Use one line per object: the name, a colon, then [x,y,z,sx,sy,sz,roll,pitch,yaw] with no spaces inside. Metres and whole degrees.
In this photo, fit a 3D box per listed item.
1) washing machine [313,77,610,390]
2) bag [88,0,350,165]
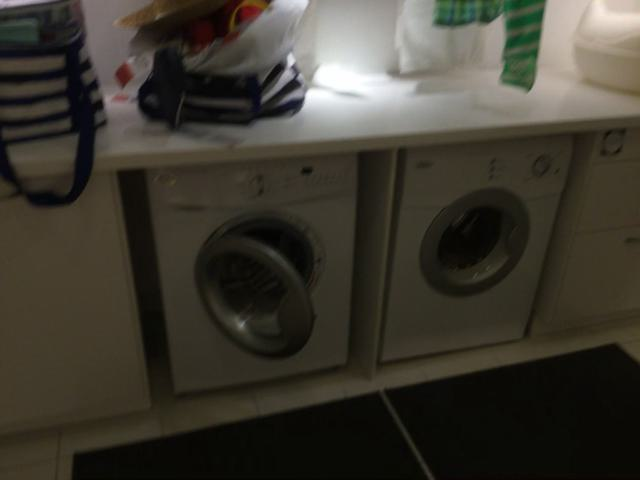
washing machine: [0.440,-0.050,2.060,0.770,0.850,0.530,-10,30,-12]
bag: [-0.280,-0.530,1.600,0.560,0.380,0.600,-10,30,-12]
